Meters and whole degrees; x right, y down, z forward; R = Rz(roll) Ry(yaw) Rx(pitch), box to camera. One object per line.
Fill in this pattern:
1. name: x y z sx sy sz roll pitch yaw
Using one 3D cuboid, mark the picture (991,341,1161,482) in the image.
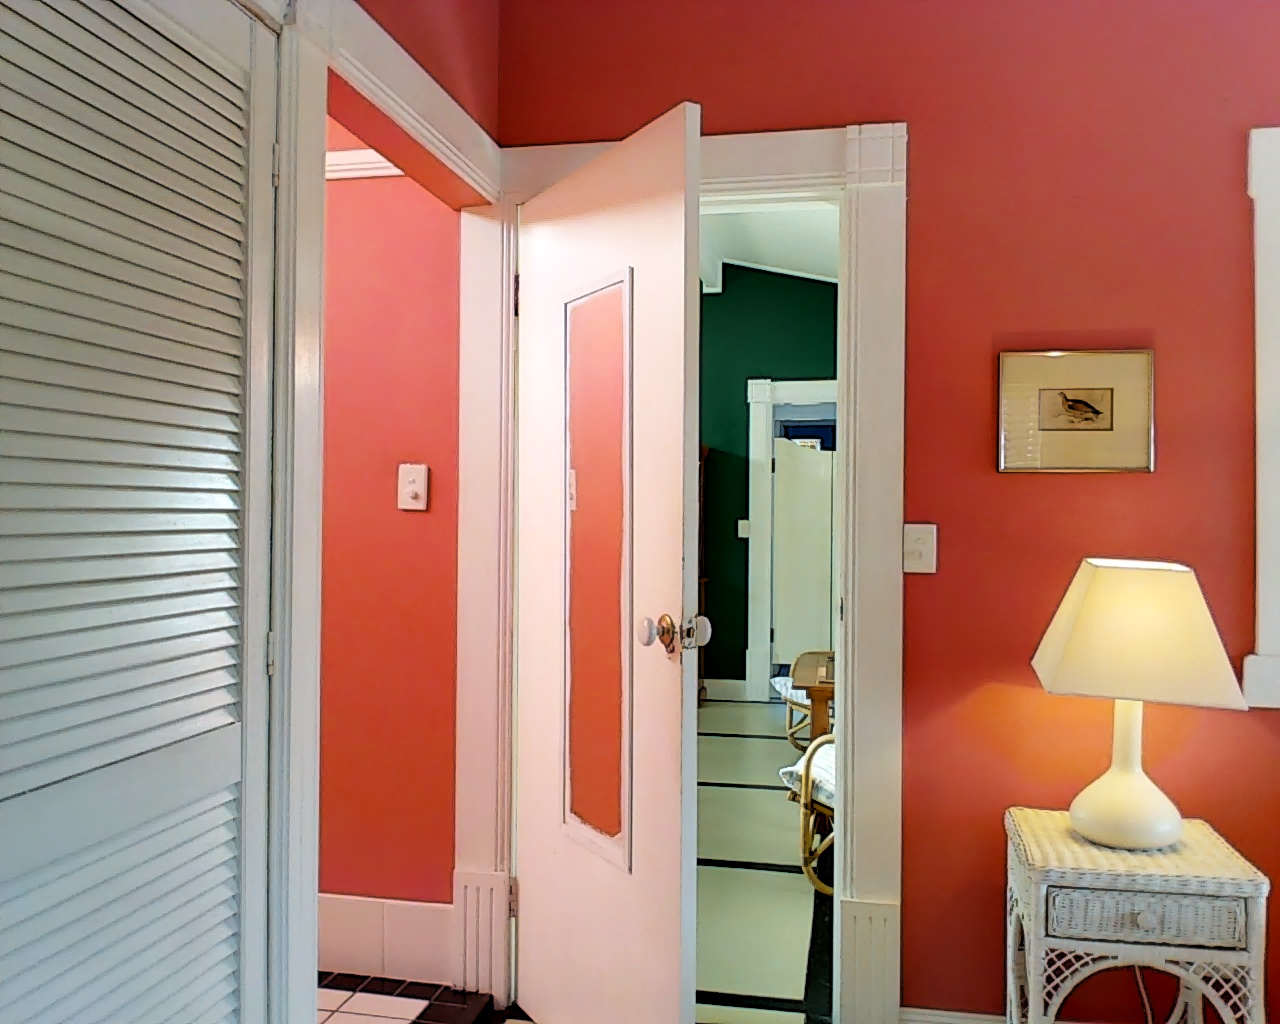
1. picture: 1.010 -0.230 2.500 0.370 0.320 0.020 0 0 11
